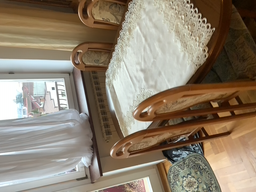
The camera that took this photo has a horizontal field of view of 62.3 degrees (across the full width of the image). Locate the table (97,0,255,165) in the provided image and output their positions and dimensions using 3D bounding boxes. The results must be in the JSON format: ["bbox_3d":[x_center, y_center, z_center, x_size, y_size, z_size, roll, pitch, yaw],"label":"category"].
[{"bbox_3d":[0.390,-0.250,1.670,1.480,0.750,0.940,-60,42,47],"label":"table"}]

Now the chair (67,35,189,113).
[{"bbox_3d":[-0.020,-0.220,2.160,0.450,1.040,0.550,-56,46,51],"label":"chair"}]
